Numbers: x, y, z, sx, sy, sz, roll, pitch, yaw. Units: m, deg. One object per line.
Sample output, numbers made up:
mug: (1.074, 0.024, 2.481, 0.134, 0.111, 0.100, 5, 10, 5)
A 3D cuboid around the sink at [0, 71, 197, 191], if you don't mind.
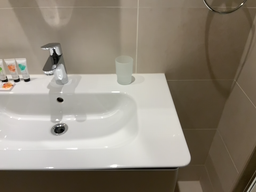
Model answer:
sink: (-0.250, 0.090, 0.750, 0.840, 0.140, 0.440, -1, 37, -2)
